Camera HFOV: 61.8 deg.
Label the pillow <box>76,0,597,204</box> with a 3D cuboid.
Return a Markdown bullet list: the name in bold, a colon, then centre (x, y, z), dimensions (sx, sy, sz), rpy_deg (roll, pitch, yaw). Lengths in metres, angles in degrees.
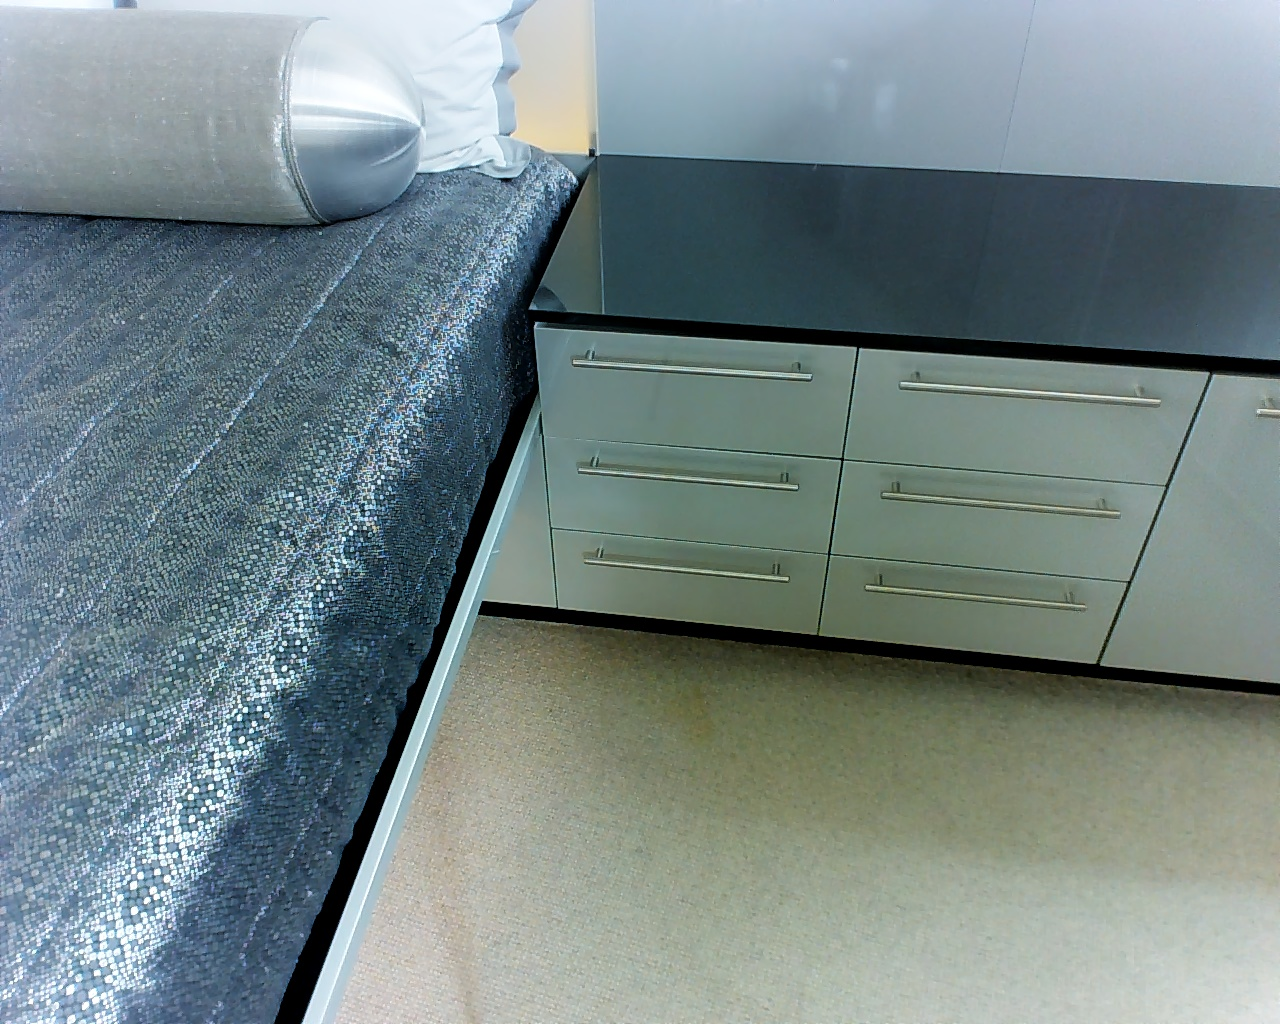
- **pillow**: centre (-0.510, -0.840, 1.880), dimensions (0.800, 0.480, 0.290), rpy_deg (4, 41, 8)

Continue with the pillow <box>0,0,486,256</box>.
- **pillow**: centre (-0.970, -0.670, 1.750), dimensions (1.350, 0.330, 0.340), rpy_deg (4, 41, 8)

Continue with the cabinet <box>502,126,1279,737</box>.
- **cabinet**: centre (0.670, -0.160, 2.000), dimensions (1.640, 0.860, 0.650), rpy_deg (4, 41, 8)
